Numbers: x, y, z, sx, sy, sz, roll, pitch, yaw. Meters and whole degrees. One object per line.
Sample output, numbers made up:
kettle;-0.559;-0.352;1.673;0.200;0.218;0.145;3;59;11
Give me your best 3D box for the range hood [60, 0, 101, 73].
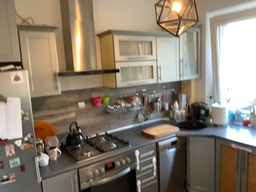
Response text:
range hood;-0.500;-0.750;2.200;0.280;0.990;0.260;-8;10;-32
